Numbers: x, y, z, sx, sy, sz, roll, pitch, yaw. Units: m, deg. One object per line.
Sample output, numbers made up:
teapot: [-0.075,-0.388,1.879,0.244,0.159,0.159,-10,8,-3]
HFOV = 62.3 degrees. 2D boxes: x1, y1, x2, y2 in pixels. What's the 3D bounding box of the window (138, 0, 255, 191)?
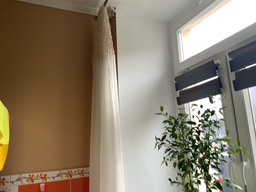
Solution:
window: [0.600,0.090,1.270,0.420,1.950,1.330,2,-12,-24]
